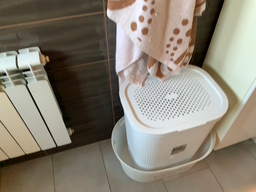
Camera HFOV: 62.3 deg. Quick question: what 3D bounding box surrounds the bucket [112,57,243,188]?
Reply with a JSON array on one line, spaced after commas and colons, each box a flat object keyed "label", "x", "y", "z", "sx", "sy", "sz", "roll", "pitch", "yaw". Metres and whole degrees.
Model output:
[{"label": "bucket", "x": 0.190, "y": 0.170, "z": 1.150, "sx": 0.470, "sy": 0.610, "sz": 0.340, "roll": -10, "pitch": 50, "yaw": -9}]
